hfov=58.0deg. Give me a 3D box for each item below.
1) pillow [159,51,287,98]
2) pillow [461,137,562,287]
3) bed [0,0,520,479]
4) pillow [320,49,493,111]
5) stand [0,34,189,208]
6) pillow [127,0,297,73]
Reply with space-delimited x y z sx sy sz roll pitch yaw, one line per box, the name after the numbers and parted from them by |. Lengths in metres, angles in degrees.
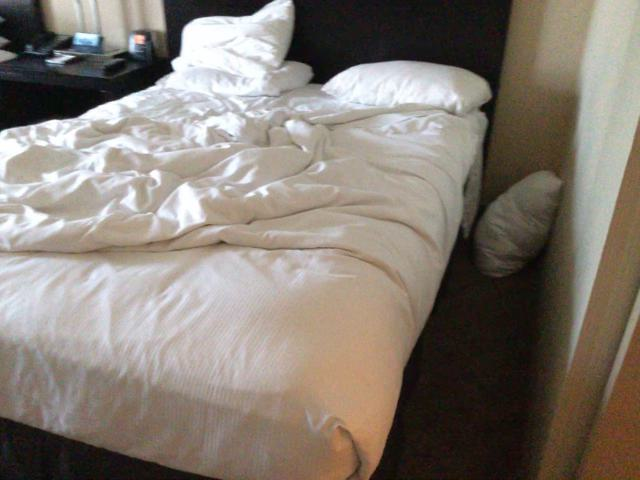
-0.430 -0.760 2.630 0.470 0.100 0.330 10 30 17 | pillow
0.830 -0.140 2.490 0.310 0.440 0.500 11 30 17 | pillow
-0.370 -0.370 1.890 1.730 1.510 2.120 11 30 17 | bed
0.360 -0.660 2.340 0.610 0.100 0.420 11 30 17 | pillow
-1.240 -0.670 3.120 0.820 0.710 0.540 11 30 17 | stand
-0.470 -0.950 2.610 0.630 0.250 0.380 11 30 17 | pillow
